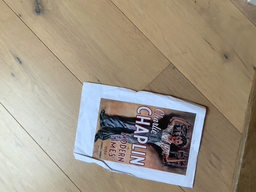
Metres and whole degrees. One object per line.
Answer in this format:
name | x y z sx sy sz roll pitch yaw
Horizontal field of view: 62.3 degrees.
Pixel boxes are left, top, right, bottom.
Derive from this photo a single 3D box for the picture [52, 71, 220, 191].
picture | 0.010 0.090 0.510 0.360 0.030 0.250 9 93 5
